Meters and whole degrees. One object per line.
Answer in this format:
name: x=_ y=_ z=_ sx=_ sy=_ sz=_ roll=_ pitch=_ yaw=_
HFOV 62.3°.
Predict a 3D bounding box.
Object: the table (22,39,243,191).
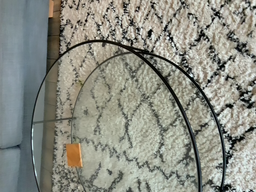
table: x=-0.110 y=0.270 z=1.050 sx=1.020 sy=0.320 sz=1.010 roll=11 pitch=98 yaw=38
